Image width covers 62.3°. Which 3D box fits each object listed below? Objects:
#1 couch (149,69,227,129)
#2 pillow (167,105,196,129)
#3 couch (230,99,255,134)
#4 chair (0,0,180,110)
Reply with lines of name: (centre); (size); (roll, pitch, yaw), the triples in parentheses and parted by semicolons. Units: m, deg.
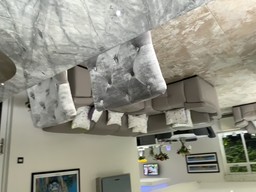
couch: (1.150, 0.150, 4.080); (1.010, 0.790, 1.070); (-16, 160, 37)
pillow: (1.000, 0.390, 3.980); (0.390, 0.330, 0.270); (-16, 179, 37)
couch: (3.790, 0.590, 6.160); (1.180, 0.810, 1.110); (-15, 160, 33)
chair: (-0.190, -0.520, 1.090); (0.520, 1.030, 0.670); (-16, 160, 37)
